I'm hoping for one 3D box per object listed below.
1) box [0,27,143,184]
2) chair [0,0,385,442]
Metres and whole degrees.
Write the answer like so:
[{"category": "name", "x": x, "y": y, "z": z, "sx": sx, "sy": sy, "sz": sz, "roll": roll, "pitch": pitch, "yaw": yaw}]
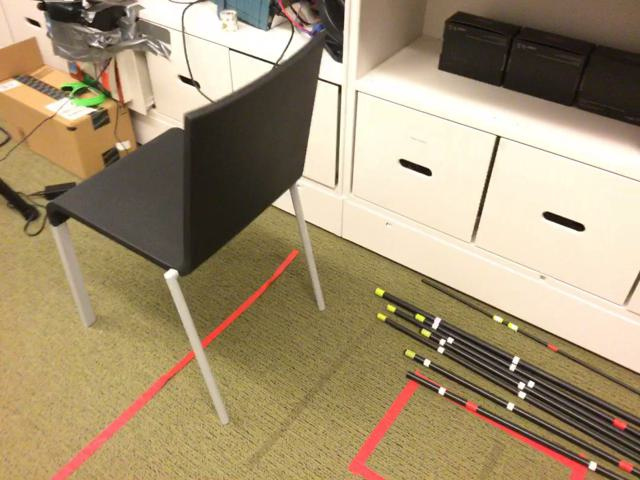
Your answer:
[{"category": "box", "x": -0.970, "y": -0.500, "z": 2.090, "sx": 0.560, "sy": 0.340, "sz": 0.280, "roll": 25, "pitch": 44, "yaw": 25}, {"category": "chair", "x": -0.260, "y": -0.080, "z": 1.310, "sx": 0.580, "sy": 0.770, "sz": 0.470, "roll": 24, "pitch": 44, "yaw": 25}]
